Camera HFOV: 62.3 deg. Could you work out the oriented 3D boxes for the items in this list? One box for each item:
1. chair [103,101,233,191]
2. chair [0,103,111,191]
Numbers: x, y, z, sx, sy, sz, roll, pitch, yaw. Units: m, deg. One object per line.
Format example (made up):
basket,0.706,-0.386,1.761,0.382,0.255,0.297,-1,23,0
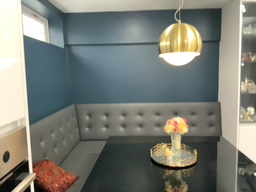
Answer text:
chair,0.510,0.650,2.940,1.590,1.070,0.560,-1,6,2
chair,-0.610,0.770,2.070,0.610,1.070,2.370,-1,6,2
